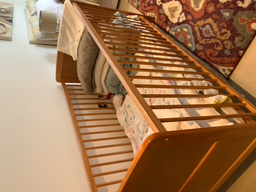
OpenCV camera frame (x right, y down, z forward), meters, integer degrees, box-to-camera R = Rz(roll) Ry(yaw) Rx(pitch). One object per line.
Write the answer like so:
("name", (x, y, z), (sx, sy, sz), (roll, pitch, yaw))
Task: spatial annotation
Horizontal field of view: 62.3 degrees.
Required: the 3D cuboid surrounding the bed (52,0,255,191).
("bed", (-0.010, -0.120, 1.740), (1.600, 0.890, 0.790), (57, 137, 45))
